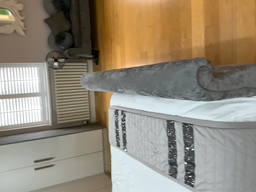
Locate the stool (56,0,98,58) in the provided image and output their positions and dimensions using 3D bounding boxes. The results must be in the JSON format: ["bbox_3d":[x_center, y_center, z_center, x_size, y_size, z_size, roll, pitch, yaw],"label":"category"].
[{"bbox_3d":[-0.980,-1.440,4.020,0.480,0.630,1.360,8,101,61],"label":"stool"}]
